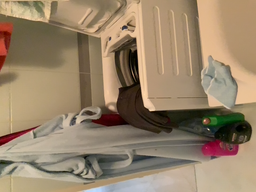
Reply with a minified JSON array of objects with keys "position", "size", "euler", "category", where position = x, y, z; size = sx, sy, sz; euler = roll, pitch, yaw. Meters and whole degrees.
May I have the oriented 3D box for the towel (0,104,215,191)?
[{"position":[-0.050,0.230,1.140],"size":[0.200,1.320,0.350],"euler":[-5,86,58],"category":"towel"}]
